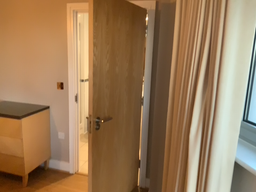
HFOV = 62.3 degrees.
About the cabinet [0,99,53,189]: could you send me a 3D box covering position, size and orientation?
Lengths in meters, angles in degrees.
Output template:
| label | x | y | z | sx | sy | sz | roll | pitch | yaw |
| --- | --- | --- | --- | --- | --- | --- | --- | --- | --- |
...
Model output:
| label | x | y | z | sx | sy | sz | roll | pitch | yaw |
| --- | --- | --- | --- | --- | --- | --- | --- | --- | --- |
| cabinet | -1.450 | 0.550 | 2.670 | 0.790 | 0.860 | 0.510 | 5 | 12 | 15 |
